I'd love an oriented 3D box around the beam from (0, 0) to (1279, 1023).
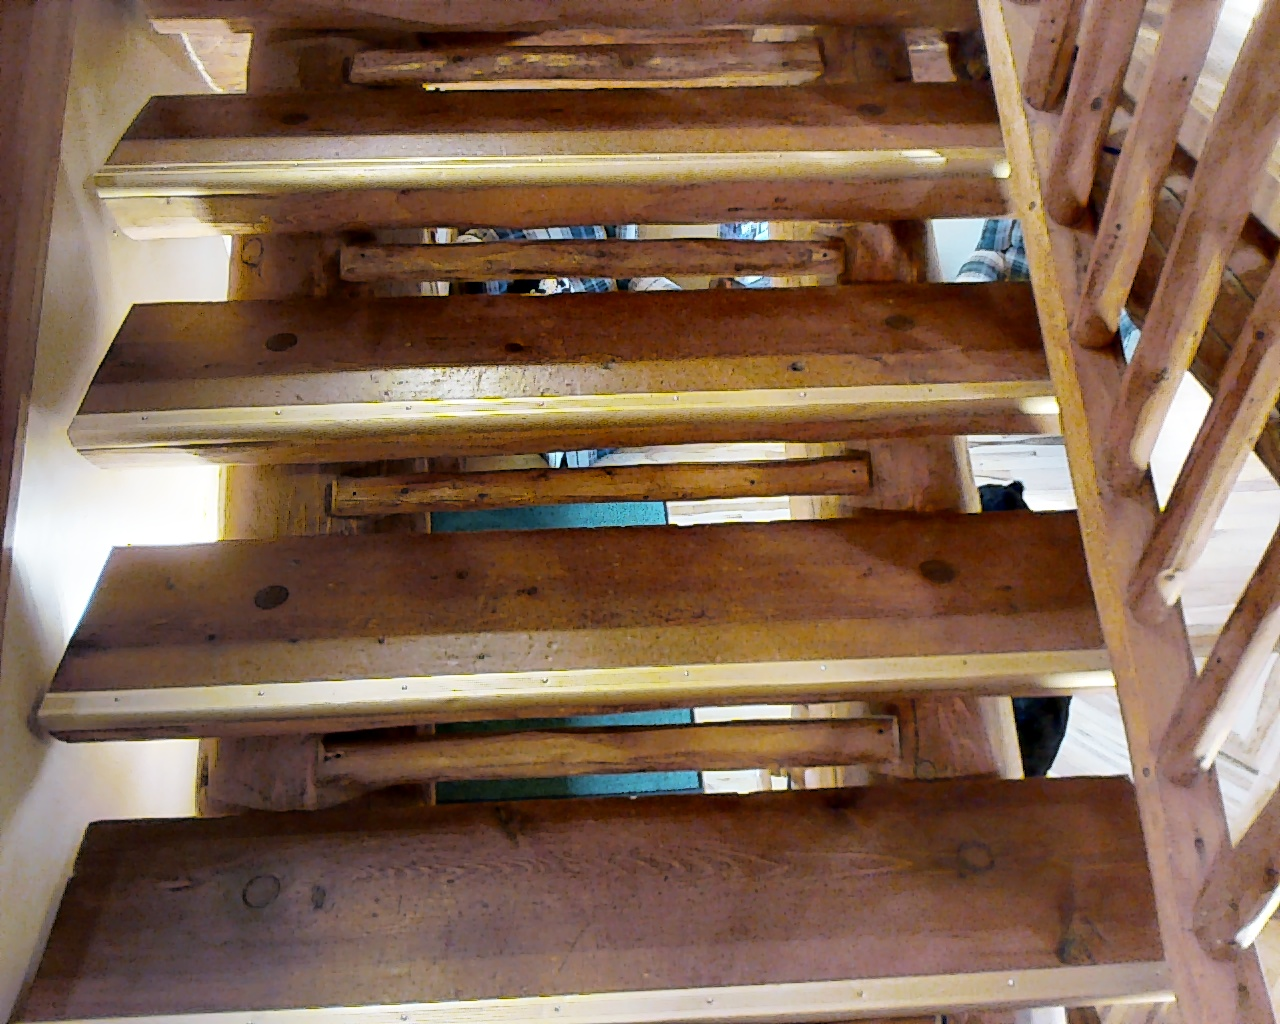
[{"bbox_3d":[0.000,0.620,1.390,1.310,1.830,2.820,-3,42,-2],"label":"beam"}]
